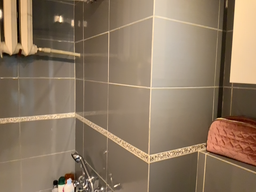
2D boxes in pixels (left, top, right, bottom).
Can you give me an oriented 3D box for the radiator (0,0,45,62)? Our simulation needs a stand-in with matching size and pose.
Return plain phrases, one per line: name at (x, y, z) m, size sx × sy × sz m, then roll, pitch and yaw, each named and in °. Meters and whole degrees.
radiator at (-0.640, -0.510, 1.160) m, size 0.310 × 0.620 × 0.210 m, roll -2°, pitch 7°, yaw -31°
